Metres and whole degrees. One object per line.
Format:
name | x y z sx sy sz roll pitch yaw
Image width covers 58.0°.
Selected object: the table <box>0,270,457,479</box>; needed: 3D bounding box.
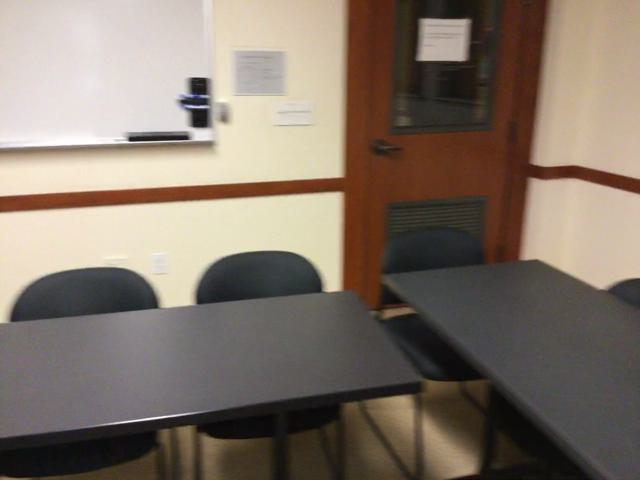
table | -0.640 0.310 1.380 1.770 0.120 0.680 -5 15 -15
